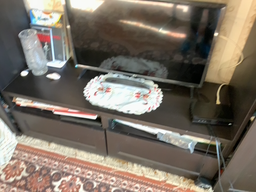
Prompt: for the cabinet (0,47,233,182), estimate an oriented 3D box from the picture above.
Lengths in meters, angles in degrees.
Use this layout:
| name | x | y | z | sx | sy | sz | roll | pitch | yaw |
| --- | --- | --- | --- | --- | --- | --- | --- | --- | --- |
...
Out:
| name | x | y | z | sx | sy | sz | roll | pitch | yaw |
| --- | --- | --- | --- | --- | --- | --- | --- | --- | --- |
| cabinet | -0.050 | 0.070 | 1.320 | 1.170 | 0.380 | 0.490 | 11 | 45 | 11 |
